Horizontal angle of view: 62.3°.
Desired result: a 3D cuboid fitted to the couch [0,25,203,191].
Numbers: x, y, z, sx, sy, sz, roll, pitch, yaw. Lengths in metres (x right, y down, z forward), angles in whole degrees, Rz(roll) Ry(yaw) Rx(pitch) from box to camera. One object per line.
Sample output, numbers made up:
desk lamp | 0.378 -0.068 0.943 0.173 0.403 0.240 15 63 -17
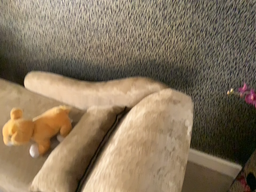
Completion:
couch | -0.490 0.180 1.320 1.610 0.710 0.790 18 41 12

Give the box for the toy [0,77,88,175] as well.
toy | -0.470 0.140 1.210 0.280 0.230 0.460 19 41 13

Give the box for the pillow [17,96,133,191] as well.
pillow | -0.230 0.270 1.120 0.290 0.170 0.560 21 41 16
